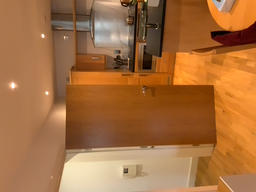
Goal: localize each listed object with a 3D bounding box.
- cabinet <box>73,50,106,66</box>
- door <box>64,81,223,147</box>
[{"bbox_3d":[-0.810,-0.810,4.500,0.350,0.650,0.290,-120,31,-70],"label":"cabinet"},{"bbox_3d":[0.260,0.210,2.860,0.090,2.150,0.810,158,111,-79],"label":"door"}]
